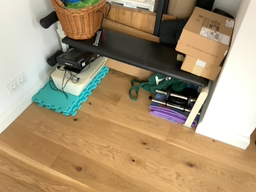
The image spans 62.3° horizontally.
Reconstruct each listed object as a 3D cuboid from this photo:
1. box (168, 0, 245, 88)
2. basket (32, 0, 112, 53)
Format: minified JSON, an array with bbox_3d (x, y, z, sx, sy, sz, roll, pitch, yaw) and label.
[{"bbox_3d":[0.480,-0.340,1.300,0.300,0.280,0.470,19,49,17],"label":"box"},{"bbox_3d":[-0.370,-0.580,1.480,0.390,0.360,0.320,18,49,16],"label":"basket"}]
